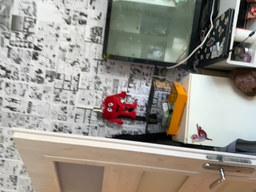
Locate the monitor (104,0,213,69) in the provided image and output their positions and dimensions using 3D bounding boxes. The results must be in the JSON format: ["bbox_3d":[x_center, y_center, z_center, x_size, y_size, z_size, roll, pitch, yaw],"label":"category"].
[{"bbox_3d":[0.230,-0.690,1.350,0.050,0.640,0.950,-119,37,-83],"label":"monitor"}]

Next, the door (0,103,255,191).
[{"bbox_3d":[0.320,0.510,1.210,0.110,2.040,0.880,-87,6,-48],"label":"door"}]
